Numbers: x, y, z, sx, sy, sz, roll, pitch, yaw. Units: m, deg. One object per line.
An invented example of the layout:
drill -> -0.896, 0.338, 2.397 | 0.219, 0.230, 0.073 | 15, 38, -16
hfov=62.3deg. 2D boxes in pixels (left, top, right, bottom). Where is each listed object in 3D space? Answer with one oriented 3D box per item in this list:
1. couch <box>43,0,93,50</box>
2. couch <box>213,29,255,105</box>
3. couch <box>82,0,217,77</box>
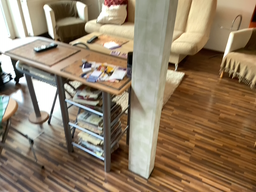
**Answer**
couch -> -1.080, -1.320, 3.860 | 0.650, 0.640, 0.670 | -16, 39, -25
couch -> 1.650, -0.410, 2.700 | 0.690, 0.640, 0.640 | -16, 38, -25
couch -> 0.290, -1.130, 3.420 | 1.820, 0.910, 0.870 | 19, 38, 23
